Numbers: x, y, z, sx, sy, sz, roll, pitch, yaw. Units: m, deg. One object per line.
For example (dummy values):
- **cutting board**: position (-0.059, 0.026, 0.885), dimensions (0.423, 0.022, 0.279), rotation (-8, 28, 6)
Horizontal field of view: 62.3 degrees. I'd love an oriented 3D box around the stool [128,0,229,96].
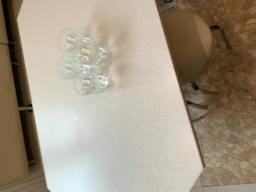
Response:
- **stool**: position (0.280, -0.180, 1.030), dimensions (0.280, 0.530, 0.290), rotation (-18, 81, 28)
